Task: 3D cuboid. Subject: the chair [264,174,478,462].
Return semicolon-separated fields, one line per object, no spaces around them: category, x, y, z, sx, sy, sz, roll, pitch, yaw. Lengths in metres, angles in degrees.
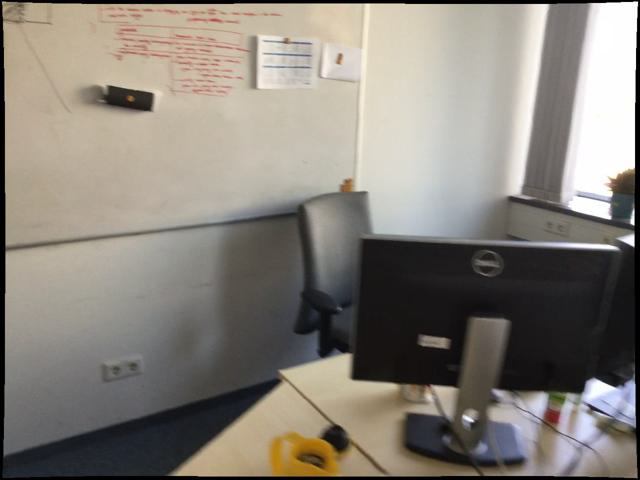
chair;0.210;0.280;2.580;0.590;0.981;0.670;-17;24;-40

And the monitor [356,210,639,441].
monitor;0.410;0.190;1.340;0.629;0.470;0.210;-1;18;-2
